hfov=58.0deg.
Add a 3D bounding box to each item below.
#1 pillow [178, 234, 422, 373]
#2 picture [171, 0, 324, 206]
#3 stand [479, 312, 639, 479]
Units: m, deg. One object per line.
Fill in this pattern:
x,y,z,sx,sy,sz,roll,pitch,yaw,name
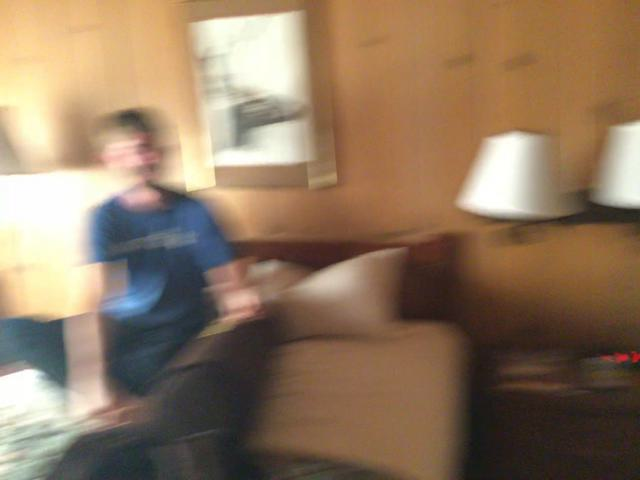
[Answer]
-0.040,0.180,1.960,0.700,0.330,0.460,1,8,18,pillow
-0.270,-0.490,2.140,0.560,0.720,0.060,1,8,18,picture
0.800,0.630,1.750,0.590,0.690,0.450,1,8,18,stand
